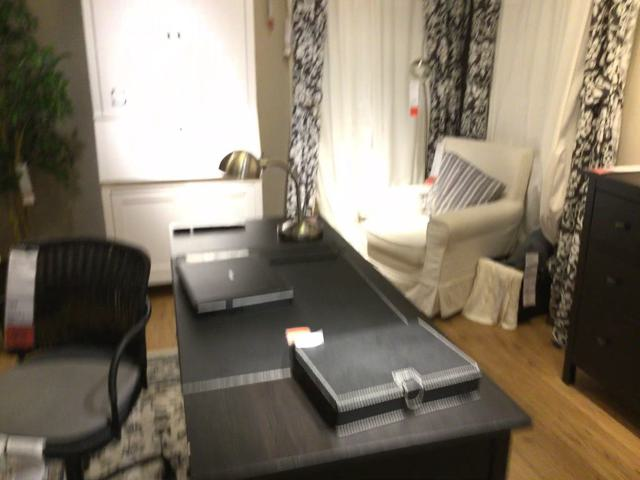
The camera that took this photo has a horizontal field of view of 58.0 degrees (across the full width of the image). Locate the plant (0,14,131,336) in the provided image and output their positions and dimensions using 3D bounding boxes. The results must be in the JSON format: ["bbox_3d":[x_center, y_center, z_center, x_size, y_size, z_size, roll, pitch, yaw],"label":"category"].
[{"bbox_3d":[-1.560,-0.350,3.050,0.880,1.520,0.690,-5,17,-13],"label":"plant"}]
